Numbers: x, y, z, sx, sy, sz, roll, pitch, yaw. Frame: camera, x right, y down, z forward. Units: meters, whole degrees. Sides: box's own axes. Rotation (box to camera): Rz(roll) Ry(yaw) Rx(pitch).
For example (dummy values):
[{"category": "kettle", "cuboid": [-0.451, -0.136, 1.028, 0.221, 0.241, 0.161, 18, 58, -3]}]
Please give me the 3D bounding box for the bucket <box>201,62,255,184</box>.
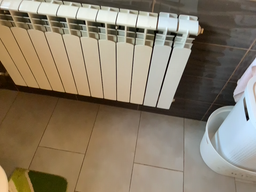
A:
[{"category": "bucket", "cuboid": [0.730, 0.200, 1.130, 0.470, 0.610, 0.340, 13, 56, 6]}]
